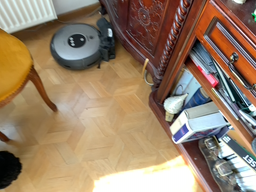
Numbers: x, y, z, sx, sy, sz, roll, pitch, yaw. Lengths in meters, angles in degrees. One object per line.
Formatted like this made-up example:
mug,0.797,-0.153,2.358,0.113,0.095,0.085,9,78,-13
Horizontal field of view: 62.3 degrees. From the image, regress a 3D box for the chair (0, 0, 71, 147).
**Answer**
chair,-0.580,-0.190,0.820,0.310,0.930,0.480,-39,72,-19
